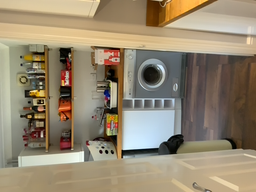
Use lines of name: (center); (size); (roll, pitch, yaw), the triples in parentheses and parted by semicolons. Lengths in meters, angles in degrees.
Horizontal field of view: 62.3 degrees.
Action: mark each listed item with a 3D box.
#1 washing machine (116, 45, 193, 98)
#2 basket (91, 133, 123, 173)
washing machine: (0.320, -0.310, 2.870); (0.590, 0.850, 0.620); (-160, 71, -73)
basket: (-0.290, 0.710, 2.740); (0.590, 0.310, 0.290); (-162, 72, -73)
